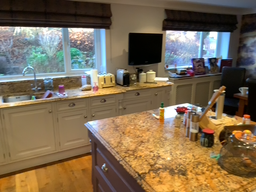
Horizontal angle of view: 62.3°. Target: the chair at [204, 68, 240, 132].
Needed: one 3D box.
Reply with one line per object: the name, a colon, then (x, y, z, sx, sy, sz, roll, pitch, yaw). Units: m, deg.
chair: (1.830, 0.050, 4.130, 0.450, 1.070, 0.590, 9, 18, 29)
